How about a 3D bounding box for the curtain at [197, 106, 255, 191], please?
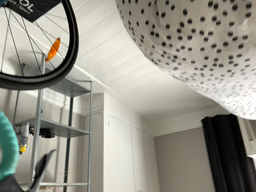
[{"bbox_3d":[1.300,1.300,2.570,0.480,2.350,0.130,-20,152,34],"label":"curtain"}]
